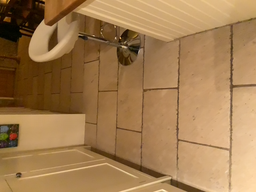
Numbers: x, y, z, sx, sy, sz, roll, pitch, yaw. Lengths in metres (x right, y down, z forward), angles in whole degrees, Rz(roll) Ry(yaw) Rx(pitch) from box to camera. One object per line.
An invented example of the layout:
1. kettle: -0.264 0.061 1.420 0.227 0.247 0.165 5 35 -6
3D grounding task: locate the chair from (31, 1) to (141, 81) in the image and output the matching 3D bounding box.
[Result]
1. chair: -0.360 -0.450 1.910 0.360 0.820 0.410 -51 51 35

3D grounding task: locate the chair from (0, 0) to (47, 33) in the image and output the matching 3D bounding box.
1. chair: -2.130 -1.600 4.010 0.480 0.990 0.490 1 88 50

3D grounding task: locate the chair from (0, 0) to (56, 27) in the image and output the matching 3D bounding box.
1. chair: -1.810 -1.600 3.620 0.460 0.980 0.490 1 88 50
